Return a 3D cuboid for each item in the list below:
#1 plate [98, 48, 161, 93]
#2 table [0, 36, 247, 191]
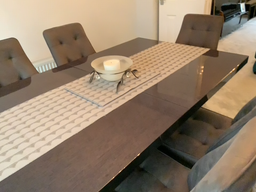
[{"bbox_3d":[0.010,-0.150,1.140,0.240,0.120,0.230,23,39,38],"label":"plate"},{"bbox_3d":[-0.050,0.240,1.350,0.970,0.770,1.580,19,37,34],"label":"table"}]
